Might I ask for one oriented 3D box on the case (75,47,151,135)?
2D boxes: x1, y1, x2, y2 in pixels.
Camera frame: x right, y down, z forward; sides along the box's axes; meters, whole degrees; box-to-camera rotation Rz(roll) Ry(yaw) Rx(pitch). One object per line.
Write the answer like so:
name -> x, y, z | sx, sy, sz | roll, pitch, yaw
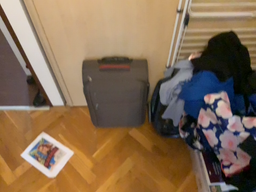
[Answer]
case -> -0.070, 0.000, 1.320 | 0.370, 0.550, 0.240 | 3, 53, 1
